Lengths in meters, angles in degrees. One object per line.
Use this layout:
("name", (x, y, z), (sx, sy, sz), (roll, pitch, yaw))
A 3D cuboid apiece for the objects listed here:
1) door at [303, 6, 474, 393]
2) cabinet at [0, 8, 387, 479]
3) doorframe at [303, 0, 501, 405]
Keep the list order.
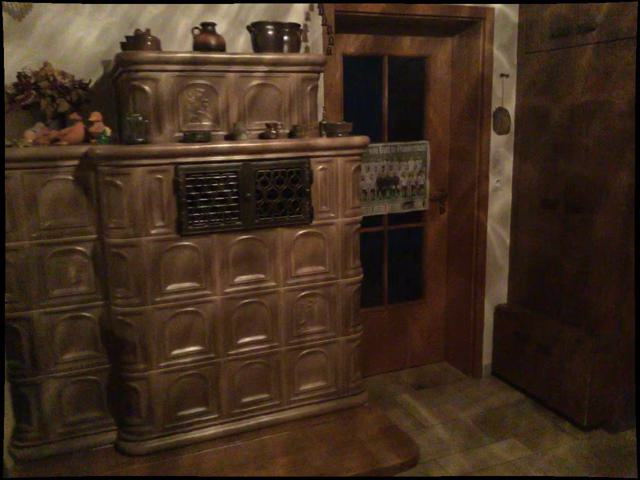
("door", (0.380, -0.200, 3.130), (0.839, 1.942, 0.240), (-7, 14, -21))
("cabinet", (-0.499, 0.140, 2.190), (1.259, 1.762, 0.810), (-7, 14, -21))
("doorframe", (0.430, -0.200, 3.040), (0.889, 1.952, 0.370), (-7, 14, -21))
